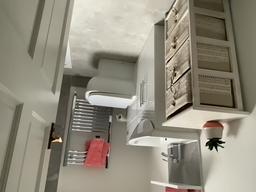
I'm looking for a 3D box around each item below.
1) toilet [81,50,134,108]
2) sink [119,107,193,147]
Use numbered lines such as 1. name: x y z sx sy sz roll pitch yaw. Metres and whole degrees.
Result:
1. toilet: -0.220 -0.160 2.250 0.490 0.450 0.370 6 161 -11
2. sink: 0.180 0.270 1.670 0.400 0.190 0.580 6 161 -11
